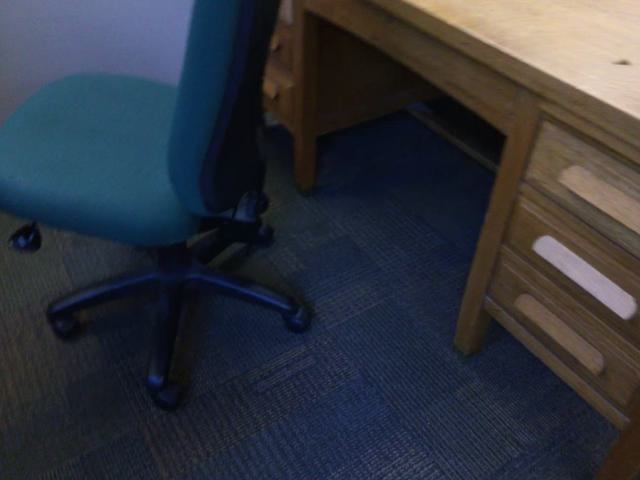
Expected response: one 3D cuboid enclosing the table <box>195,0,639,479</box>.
[{"bbox_3d":[0.650,-0.450,1.630,1.350,0.810,1.750,-24,46,-23],"label":"table"}]
